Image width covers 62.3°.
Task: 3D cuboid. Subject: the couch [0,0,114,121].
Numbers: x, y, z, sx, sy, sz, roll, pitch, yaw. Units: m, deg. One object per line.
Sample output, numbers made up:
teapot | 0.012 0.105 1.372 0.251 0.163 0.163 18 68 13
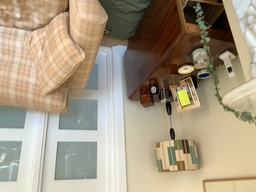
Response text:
couch | -0.820 -0.440 1.410 1.200 0.920 1.100 3 157 -17
